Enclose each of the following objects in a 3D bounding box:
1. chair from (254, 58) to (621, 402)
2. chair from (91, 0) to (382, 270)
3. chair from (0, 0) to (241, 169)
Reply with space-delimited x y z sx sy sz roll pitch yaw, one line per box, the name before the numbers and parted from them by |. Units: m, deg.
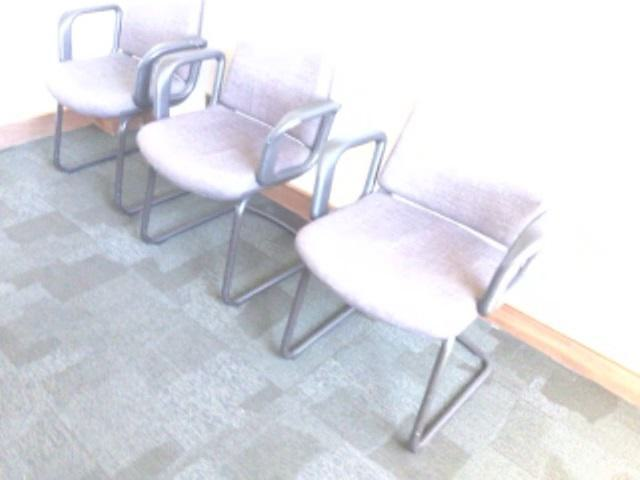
chair | 0.260 -0.090 1.450 0.620 0.490 0.570 29 40 32
chair | -0.260 -0.400 1.910 0.590 0.600 0.640 29 40 32
chair | -0.790 -0.750 2.280 0.720 0.570 0.630 29 40 32
